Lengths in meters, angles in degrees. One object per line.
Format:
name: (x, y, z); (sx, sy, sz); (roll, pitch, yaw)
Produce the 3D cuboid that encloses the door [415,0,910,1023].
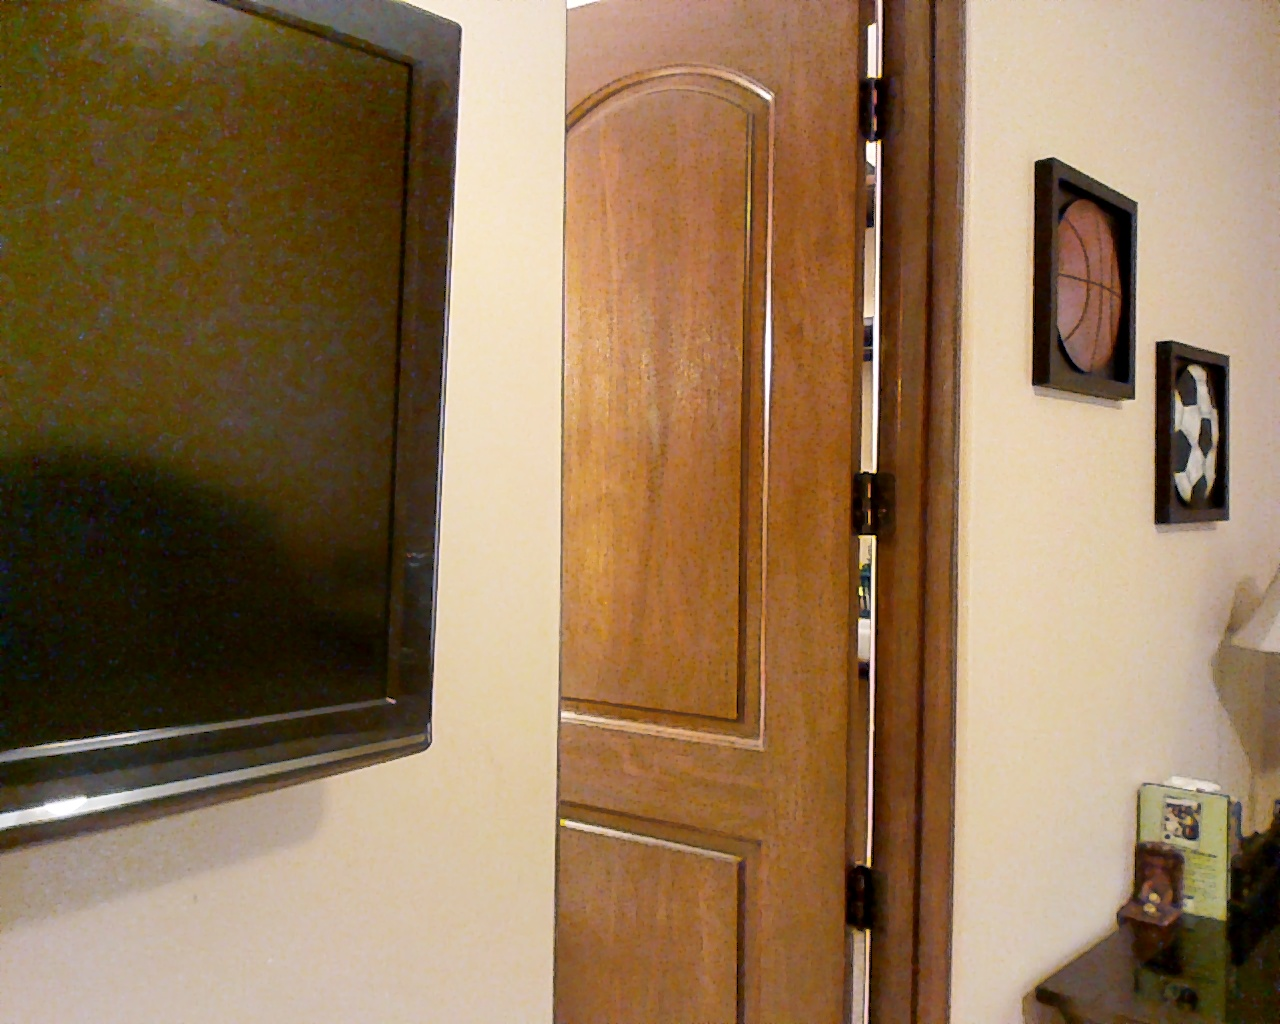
door: (-0.010, 0.260, 1.880); (0.900, 2.500, 0.180); (1, 1, 35)
